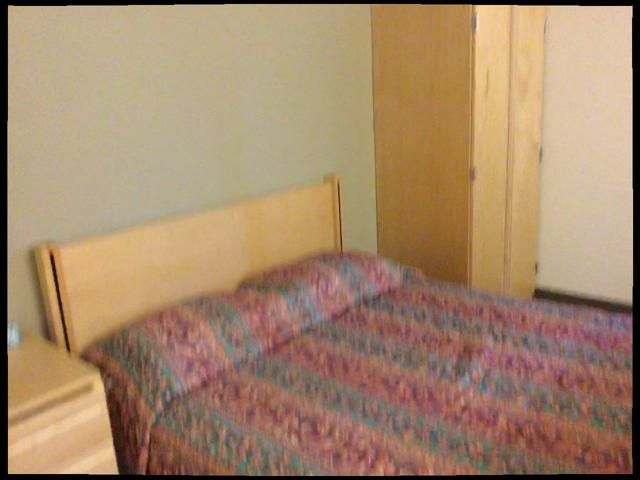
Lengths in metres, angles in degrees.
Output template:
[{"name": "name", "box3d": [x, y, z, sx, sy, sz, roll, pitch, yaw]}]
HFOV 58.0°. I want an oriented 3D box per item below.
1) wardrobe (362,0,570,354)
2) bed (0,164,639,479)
[{"name": "wardrobe", "box3d": [0.898, -0.441, 3.510, 0.699, 1.853, 1.049, 12, 23, 43]}, {"name": "bed", "box3d": [0.409, 0.481, 1.950, 2.358, 1.042, 1.868, 12, 23, 43]}]
